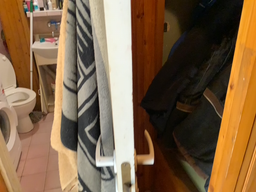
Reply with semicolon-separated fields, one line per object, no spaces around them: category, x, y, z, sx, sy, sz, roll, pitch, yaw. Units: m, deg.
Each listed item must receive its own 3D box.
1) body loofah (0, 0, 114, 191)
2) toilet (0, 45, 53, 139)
body loofah;-0.210;0.040;0.840;0.200;1.260;0.580;-1;28;1
toilet;-1.270;-0.070;2.320;0.630;0.830;0.400;14;31;28
